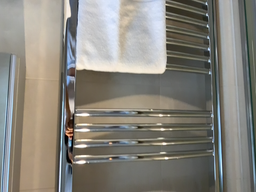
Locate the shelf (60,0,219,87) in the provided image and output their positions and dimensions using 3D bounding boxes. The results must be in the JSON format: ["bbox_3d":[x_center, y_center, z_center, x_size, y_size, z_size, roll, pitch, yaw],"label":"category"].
[{"bbox_3d":[0.040,-0.450,0.670,0.460,0.820,0.090,1,173,-15],"label":"shelf"}]
